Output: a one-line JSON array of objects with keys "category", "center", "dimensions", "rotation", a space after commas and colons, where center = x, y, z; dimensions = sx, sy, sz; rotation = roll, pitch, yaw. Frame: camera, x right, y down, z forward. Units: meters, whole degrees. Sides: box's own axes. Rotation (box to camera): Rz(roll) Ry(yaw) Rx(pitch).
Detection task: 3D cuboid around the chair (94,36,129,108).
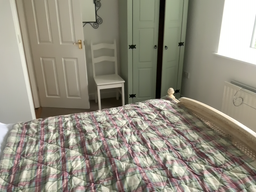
[{"category": "chair", "center": [-0.250, -0.380, 3.180], "dimensions": [0.410, 0.950, 0.510], "rotation": [-6, 22, -15]}]
